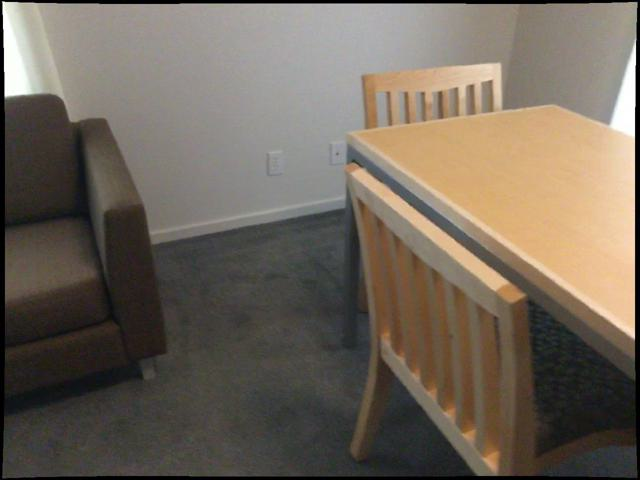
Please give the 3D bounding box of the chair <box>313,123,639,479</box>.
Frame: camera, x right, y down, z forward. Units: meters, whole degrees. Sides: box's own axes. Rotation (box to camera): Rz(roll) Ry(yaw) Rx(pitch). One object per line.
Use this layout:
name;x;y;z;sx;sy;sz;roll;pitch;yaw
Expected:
chair;0.399;0.281;1.330;0.609;0.932;0.630;-9;26;-23
